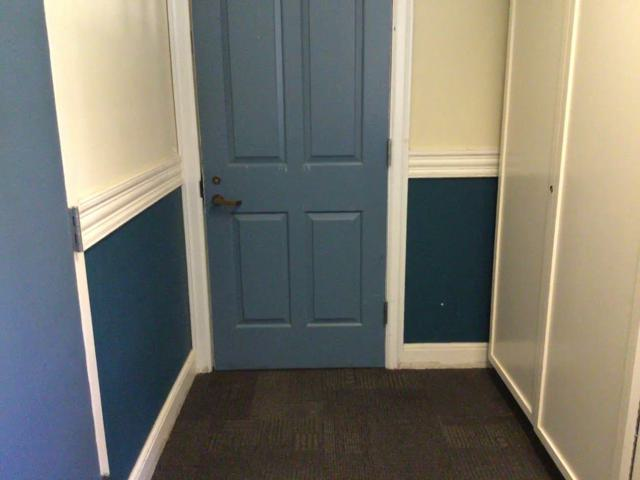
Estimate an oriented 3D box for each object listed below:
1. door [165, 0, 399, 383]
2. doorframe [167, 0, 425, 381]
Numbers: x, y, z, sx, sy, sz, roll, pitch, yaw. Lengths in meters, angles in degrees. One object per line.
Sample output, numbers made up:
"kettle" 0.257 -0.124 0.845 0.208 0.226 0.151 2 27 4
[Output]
"door" -0.150 -0.220 2.760 1.000 1.840 0.190 -1 13 -1
"doorframe" -0.090 -0.220 2.760 1.120 1.840 0.130 -1 13 -1
